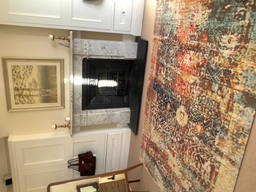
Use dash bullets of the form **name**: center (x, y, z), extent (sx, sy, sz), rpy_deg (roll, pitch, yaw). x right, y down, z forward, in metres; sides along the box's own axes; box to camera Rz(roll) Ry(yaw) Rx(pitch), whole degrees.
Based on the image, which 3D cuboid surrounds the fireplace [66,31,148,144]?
- **fireplace**: center (-0.460, -0.170, 3.880), extent (0.760, 1.220, 1.810), rpy_deg (-135, 47, -61)
